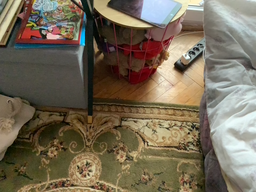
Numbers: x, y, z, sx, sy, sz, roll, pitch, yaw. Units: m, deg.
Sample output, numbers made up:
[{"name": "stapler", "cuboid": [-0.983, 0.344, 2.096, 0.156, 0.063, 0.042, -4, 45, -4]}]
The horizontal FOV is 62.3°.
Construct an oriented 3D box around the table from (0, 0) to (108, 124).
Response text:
[{"name": "table", "cuboid": [-0.560, -0.310, 0.810, 0.900, 0.730, 0.510, 4, 58, -2]}]
